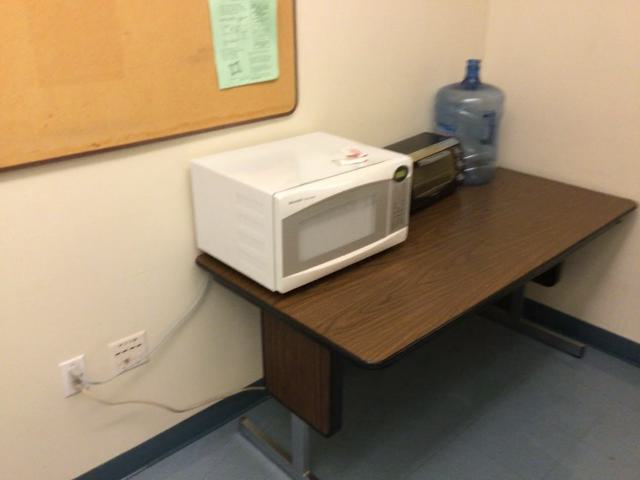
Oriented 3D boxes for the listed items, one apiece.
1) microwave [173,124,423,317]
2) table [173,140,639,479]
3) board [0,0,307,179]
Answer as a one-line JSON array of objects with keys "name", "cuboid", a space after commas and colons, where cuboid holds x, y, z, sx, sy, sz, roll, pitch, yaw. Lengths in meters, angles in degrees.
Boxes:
[{"name": "microwave", "cuboid": [-0.060, -0.100, 1.740, 0.570, 0.330, 0.440, -21, 33, -40]}, {"name": "table", "cuboid": [0.400, 0.130, 2.050, 1.540, 0.560, 0.820, -21, 33, -40]}, {"name": "board", "cuboid": [-0.480, -0.640, 1.310, 1.150, 0.890, 0.100, -21, 33, -40]}]
